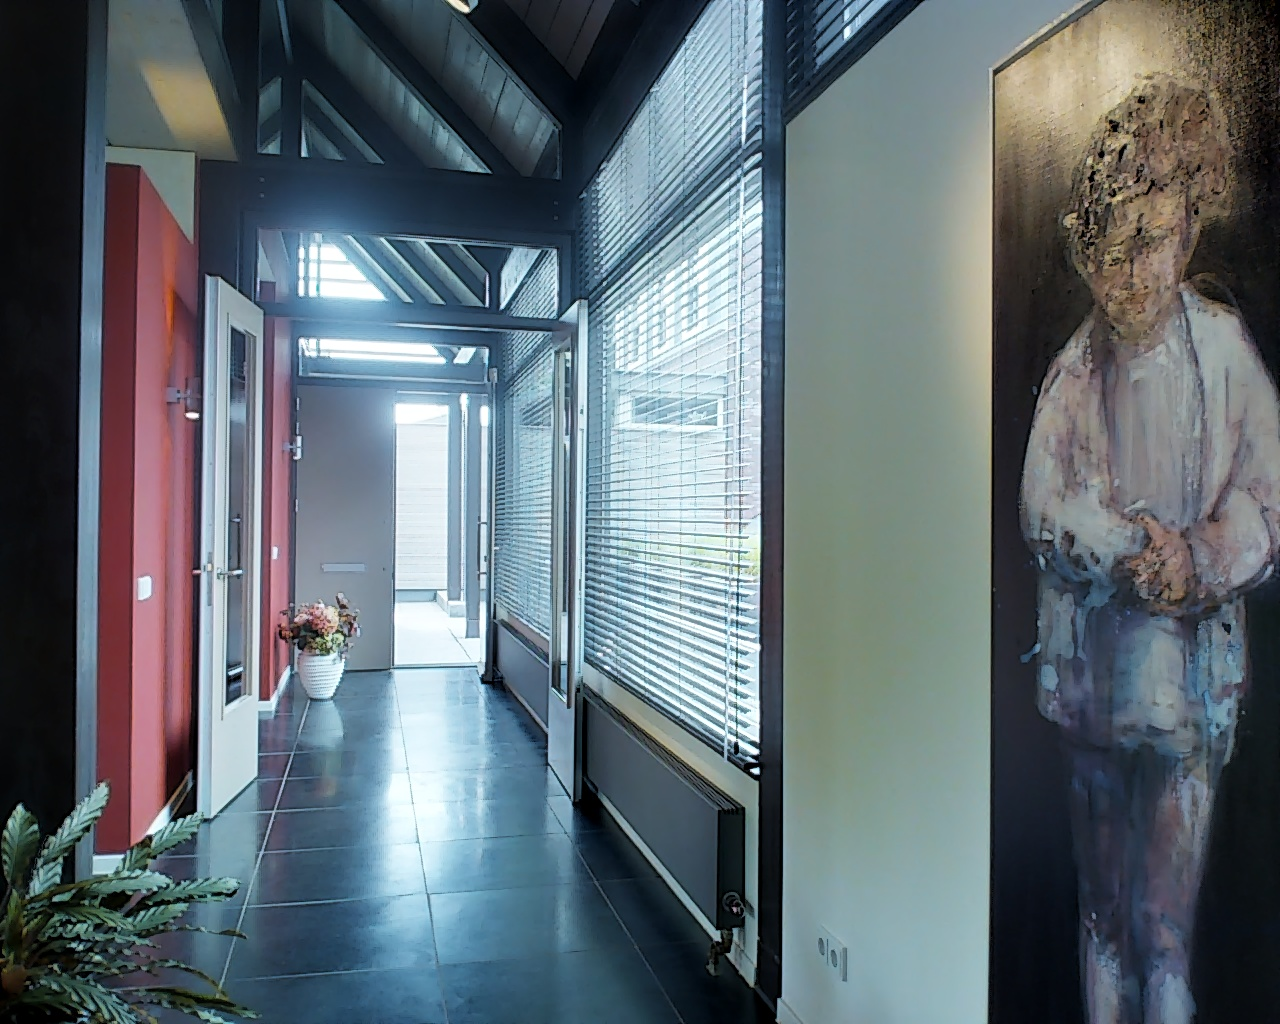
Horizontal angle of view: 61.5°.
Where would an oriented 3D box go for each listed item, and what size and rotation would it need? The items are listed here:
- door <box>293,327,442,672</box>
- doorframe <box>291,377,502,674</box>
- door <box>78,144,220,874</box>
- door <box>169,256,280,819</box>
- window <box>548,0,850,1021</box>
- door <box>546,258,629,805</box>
[{"bbox_3d":[-2.300,-0.100,9.130,1.180,2.860,0.160,1,0,-13],"label":"door"},{"bbox_3d":[-2.060,0.120,9.190,1.720,2.460,0.160,1,0,-13],"label":"doorframe"},{"bbox_3d":[-2.060,-0.010,4.620,0.250,2.640,1.440,1,0,-13],"label":"door"},{"bbox_3d":[-1.910,0.110,5.000,0.210,2.410,0.790,1,0,-2],"label":"door"},{"bbox_3d":[0.030,-0.380,4.350,0.310,3.381,3.180,1,0,-13],"label":"window"},{"bbox_3d":[-0.280,0.090,5.390,0.230,2.500,0.920,1,0,-13],"label":"door"}]
